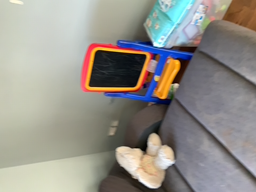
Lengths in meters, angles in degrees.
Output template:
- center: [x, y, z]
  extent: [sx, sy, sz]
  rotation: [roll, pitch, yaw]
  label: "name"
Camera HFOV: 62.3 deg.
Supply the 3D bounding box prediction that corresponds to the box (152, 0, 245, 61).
- center: [0.540, -0.650, 1.690]
  extent: [0.400, 0.380, 0.600]
  rotation: [58, 139, 43]
  label: "box"
